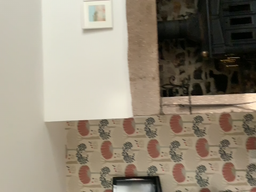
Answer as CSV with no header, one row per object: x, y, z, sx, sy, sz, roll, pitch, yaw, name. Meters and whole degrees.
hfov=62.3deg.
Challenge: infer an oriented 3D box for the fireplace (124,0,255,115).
0.850,-0.770,2.240,0.830,1.720,1.860,52,-144,-84,fireplace
